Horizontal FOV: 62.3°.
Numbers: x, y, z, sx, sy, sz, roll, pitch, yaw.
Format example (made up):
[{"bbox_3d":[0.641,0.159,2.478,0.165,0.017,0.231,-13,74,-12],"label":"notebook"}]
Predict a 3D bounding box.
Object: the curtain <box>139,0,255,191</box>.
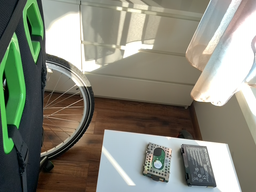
[{"bbox_3d":[0.480,-0.450,0.530,0.420,2.430,0.570,8,47,-5],"label":"curtain"}]
